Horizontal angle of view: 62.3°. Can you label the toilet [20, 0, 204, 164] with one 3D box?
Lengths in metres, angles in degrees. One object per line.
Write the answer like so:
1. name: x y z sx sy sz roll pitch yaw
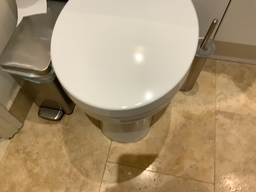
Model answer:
1. toilet: 0.000 -0.070 0.740 0.380 0.460 0.450 9 62 5
